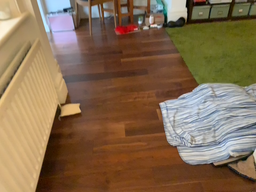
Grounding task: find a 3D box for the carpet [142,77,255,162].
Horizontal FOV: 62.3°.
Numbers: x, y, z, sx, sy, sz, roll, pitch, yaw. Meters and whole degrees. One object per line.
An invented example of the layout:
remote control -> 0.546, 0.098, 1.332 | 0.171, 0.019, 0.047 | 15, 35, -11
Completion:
carpet -> 0.800, 0.120, 1.540 | 1.340, 0.150, 0.660 | -3, 39, 0
